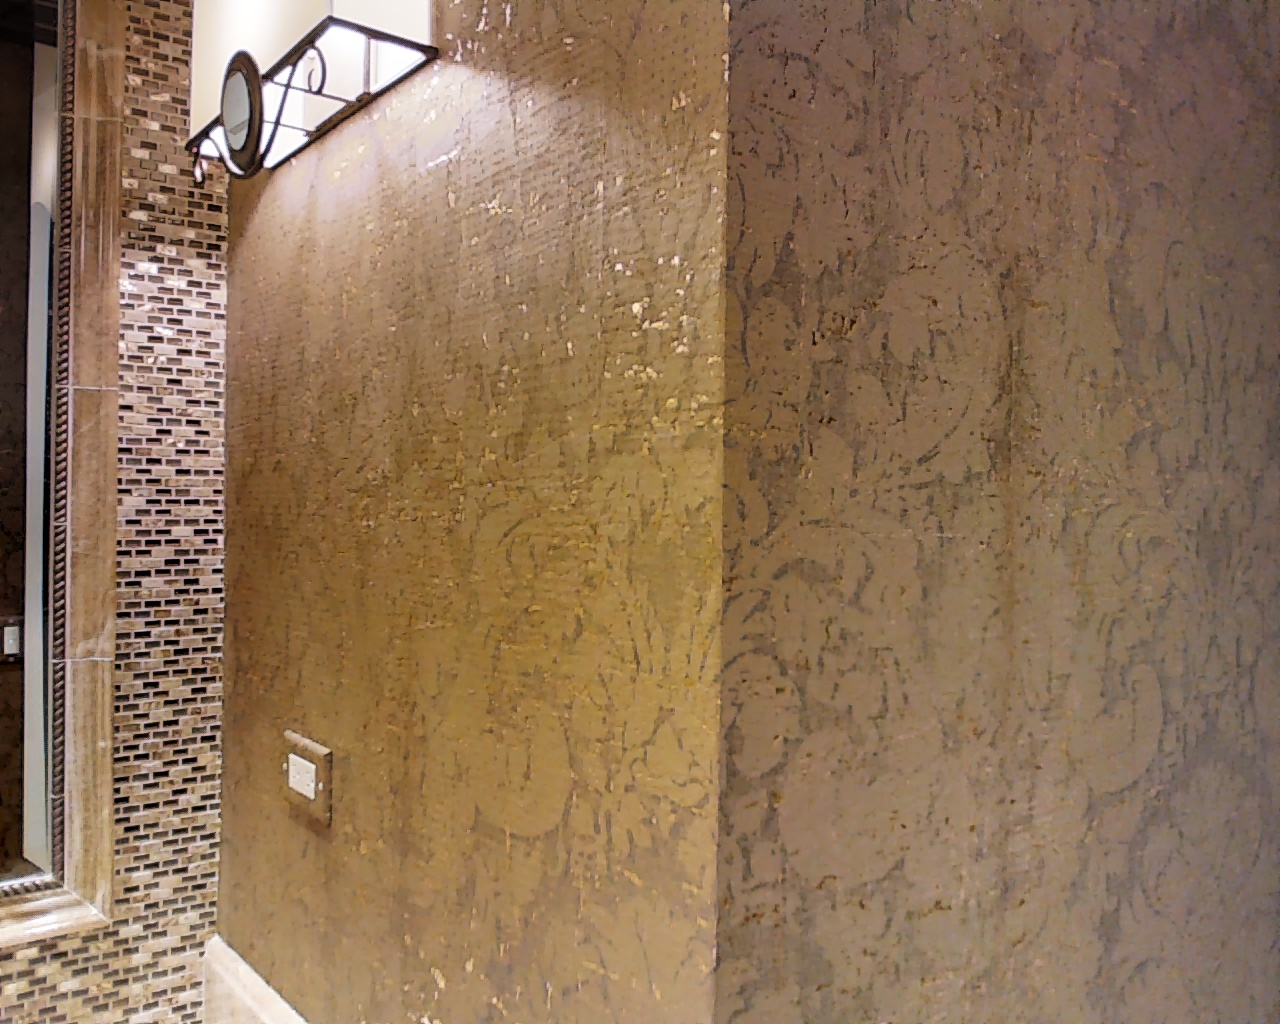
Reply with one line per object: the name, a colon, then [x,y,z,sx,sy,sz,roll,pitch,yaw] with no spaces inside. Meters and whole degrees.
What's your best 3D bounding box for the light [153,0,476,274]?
light: [-0.330,-0.460,1.020,0.140,0.370,0.470,1,0,-37]
